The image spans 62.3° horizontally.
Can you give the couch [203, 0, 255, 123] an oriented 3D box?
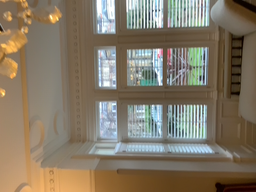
[{"bbox_3d":[1.520,-0.490,2.800,0.700,0.820,1.550,-55,-35,-83],"label":"couch"}]
